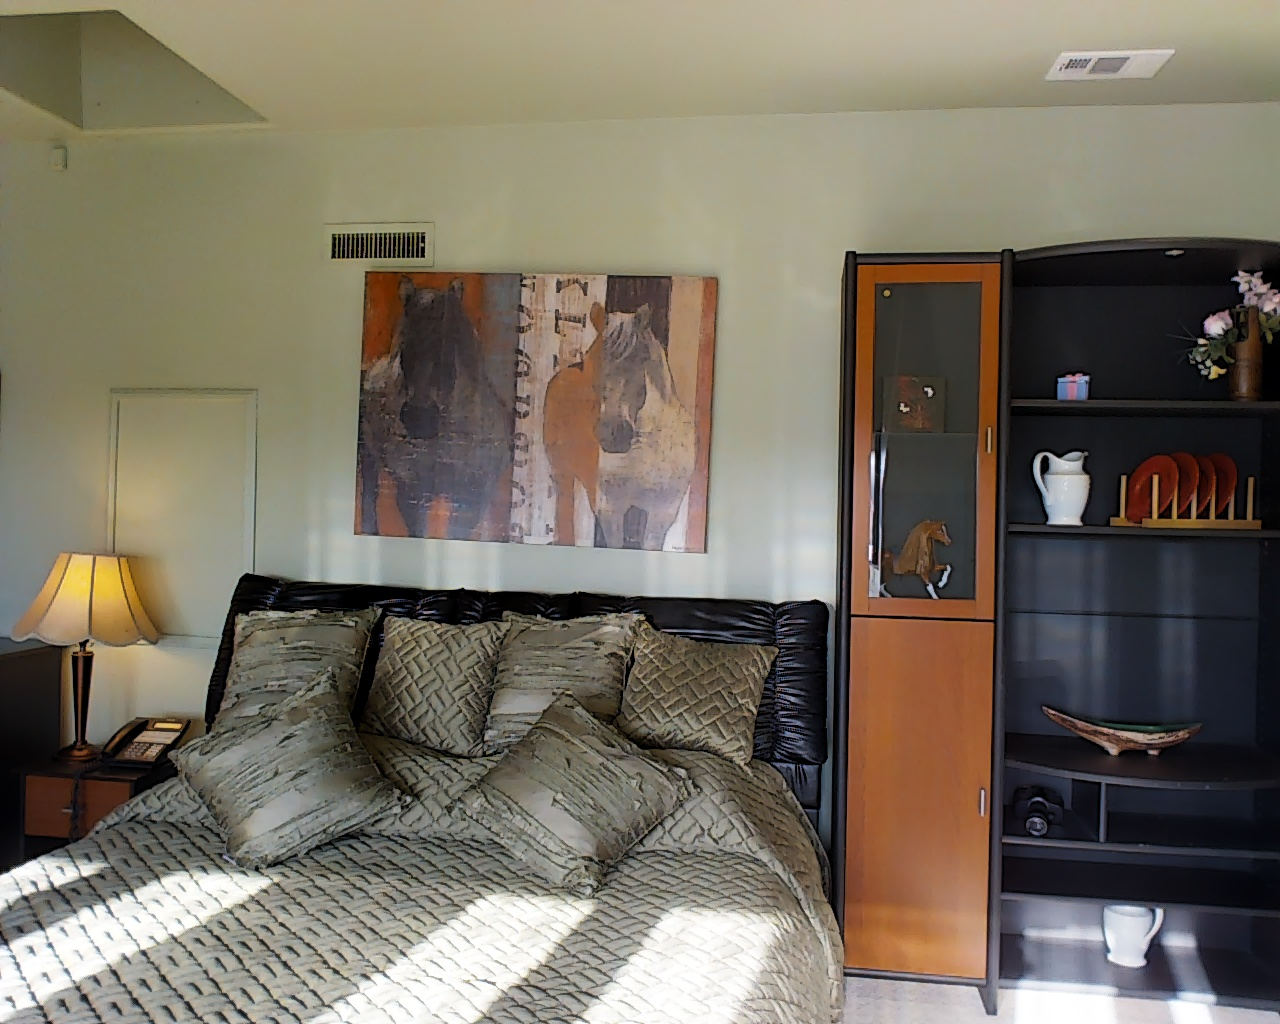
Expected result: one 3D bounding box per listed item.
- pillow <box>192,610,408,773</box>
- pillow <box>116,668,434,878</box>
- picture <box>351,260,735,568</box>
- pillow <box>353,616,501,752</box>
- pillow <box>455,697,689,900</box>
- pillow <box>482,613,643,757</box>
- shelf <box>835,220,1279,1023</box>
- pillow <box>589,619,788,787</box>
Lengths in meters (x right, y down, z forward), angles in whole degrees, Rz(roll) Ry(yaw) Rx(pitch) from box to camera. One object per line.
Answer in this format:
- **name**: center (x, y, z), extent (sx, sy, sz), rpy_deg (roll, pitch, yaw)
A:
- **pillow**: center (-1.040, 0.540, 3.320), extent (0.520, 0.420, 0.370), rpy_deg (1, 0, 9)
- **pillow**: center (-0.920, 0.690, 2.800), extent (0.590, 0.230, 0.580), rpy_deg (2, -43, 10)
- **picture**: center (-0.340, -0.330, 3.610), extent (1.290, 1.000, 0.070), rpy_deg (1, 0, 9)
- **pillow**: center (-0.640, 0.510, 3.240), extent (0.350, 0.350, 0.260), rpy_deg (1, 0, 17)
- **pillow**: center (-0.190, 0.700, 2.710), extent (0.530, 0.380, 0.440), rpy_deg (1, 0, -11)
- **pillow**: center (-0.220, 0.500, 3.170), extent (0.410, 0.360, 0.310), rpy_deg (1, 0, 9)
- **shelf**: center (1.470, 0.330, 3.050), extent (1.740, 2.140, 0.640), rpy_deg (1, 0, 9)
- **pillow**: center (0.150, 0.540, 3.100), extent (0.540, 0.410, 0.280), rpy_deg (1, 0, 9)
